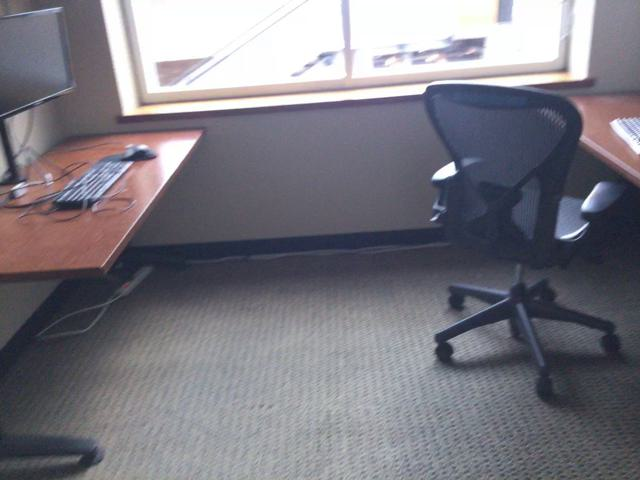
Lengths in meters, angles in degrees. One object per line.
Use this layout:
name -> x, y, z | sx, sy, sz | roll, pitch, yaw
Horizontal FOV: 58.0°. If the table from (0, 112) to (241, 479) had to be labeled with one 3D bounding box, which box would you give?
table -> -0.840, 0.070, 2.280 | 0.780, 0.800, 1.510 | -6, 22, 1
